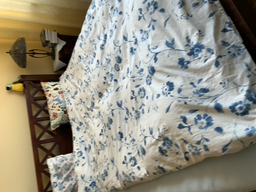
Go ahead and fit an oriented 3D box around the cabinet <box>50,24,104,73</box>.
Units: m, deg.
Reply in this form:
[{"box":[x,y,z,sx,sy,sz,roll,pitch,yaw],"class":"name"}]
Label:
[{"box":[-0.700,-0.620,2.860,0.420,0.550,0.450,-44,57,52],"class":"cabinet"}]
